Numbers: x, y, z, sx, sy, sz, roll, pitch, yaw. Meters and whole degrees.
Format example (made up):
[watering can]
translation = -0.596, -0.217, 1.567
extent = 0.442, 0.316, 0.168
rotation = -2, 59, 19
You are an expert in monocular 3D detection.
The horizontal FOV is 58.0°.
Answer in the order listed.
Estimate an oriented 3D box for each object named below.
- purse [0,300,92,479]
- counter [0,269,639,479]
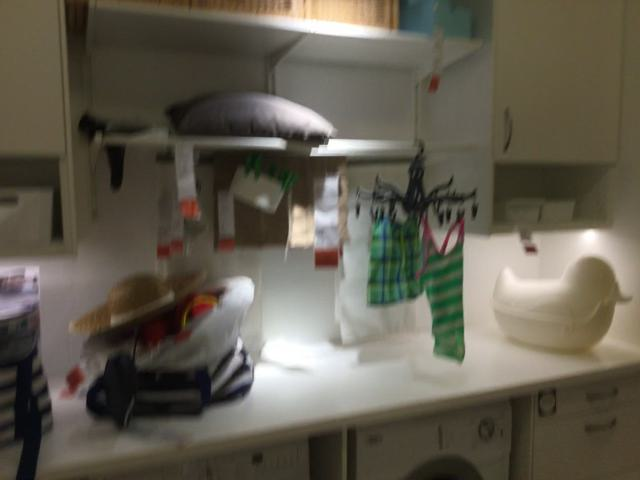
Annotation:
[purse]
translation = -0.820, 0.430, 1.360
extent = 0.480, 0.440, 0.420
rotation = -7, 7, -22
[counter]
translation = -0.090, 0.540, 1.080
extent = 3.130, 0.300, 2.040
rotation = -7, 7, -22
